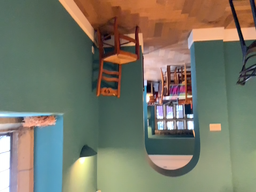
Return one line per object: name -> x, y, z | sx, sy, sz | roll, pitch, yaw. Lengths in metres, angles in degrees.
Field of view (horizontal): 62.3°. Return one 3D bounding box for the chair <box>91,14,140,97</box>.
chair -> -0.180, -0.500, 2.890 | 0.410, 0.980, 0.500 | 1, 174, -40
